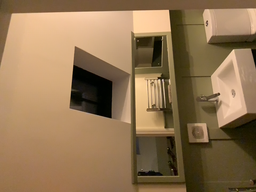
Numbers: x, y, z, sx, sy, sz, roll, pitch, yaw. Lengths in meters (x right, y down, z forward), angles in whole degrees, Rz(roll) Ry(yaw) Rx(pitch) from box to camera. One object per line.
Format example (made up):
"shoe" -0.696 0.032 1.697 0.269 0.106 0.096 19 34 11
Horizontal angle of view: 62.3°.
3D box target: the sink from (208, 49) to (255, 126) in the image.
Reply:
"sink" 0.870 -0.050 1.740 0.420 0.200 0.510 89 180 -69
